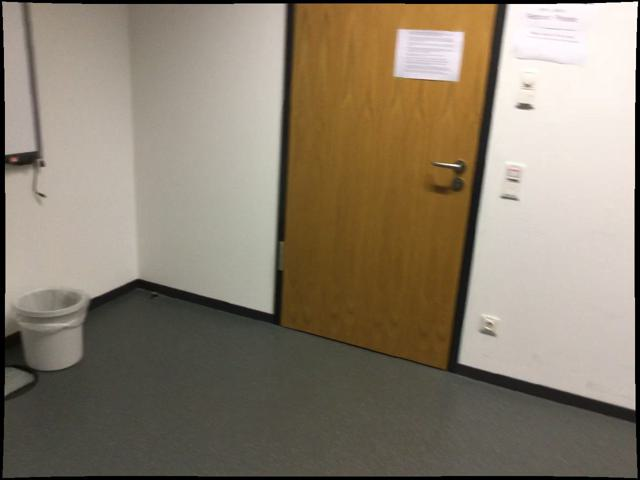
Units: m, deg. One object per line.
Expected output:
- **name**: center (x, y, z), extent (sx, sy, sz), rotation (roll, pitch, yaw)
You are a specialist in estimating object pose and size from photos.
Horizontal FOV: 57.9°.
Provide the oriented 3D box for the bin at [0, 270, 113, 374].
- **bin**: center (-1.319, 0.390, 2.870), extent (0.410, 0.310, 0.340), rotation (13, 22, 26)
